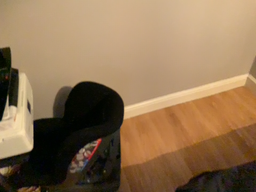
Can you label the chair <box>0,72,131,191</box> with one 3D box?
[{"bbox_3d":[-0.320,0.260,1.190,0.600,0.580,0.430,-8,44,-4],"label":"chair"}]
